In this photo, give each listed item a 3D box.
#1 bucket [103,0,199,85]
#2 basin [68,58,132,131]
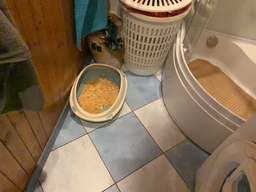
[{"bbox_3d":[0.120,-0.510,1.460,0.470,0.680,0.450,12,53,0],"label":"bucket"},{"bbox_3d":[-0.170,-0.030,1.430,0.290,0.100,0.470,14,53,2],"label":"basin"}]
